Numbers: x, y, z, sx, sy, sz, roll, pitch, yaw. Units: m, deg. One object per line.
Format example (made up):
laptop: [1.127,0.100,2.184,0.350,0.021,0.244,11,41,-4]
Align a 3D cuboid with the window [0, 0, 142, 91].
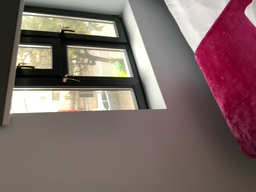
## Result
window: [-0.520,-0.500,1.980,0.070,1.130,1.060,115,148,-51]
